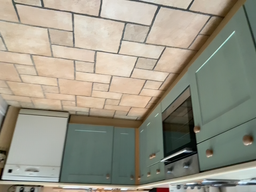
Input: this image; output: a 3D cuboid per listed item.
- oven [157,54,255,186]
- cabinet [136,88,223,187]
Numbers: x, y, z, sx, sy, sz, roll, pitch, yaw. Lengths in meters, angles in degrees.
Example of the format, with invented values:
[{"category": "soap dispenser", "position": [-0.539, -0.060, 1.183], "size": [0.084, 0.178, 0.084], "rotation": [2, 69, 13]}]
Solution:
[{"category": "oven", "position": [0.630, 0.240, 1.760], "size": [0.580, 0.890, 0.610], "rotation": [6, 154, -10]}, {"category": "cabinet", "position": [0.480, 0.540, 2.430], "size": [0.590, 0.890, 0.890], "rotation": [6, 154, -10]}]
